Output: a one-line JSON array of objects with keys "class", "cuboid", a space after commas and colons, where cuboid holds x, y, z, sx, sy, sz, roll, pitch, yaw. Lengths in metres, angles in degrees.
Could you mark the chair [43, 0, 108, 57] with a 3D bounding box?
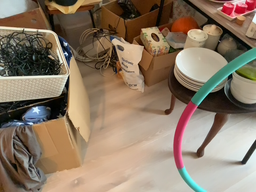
[{"class": "chair", "cuboid": [-0.500, -0.870, 1.900, 0.450, 0.780, 0.530, -19, 53, -17]}]
